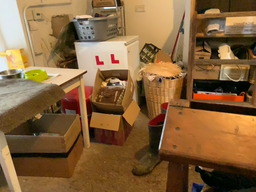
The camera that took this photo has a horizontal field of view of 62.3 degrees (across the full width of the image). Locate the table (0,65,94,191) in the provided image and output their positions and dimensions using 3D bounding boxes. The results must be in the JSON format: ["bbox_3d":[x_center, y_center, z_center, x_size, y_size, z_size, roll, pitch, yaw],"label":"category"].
[{"bbox_3d":[-0.780,0.250,1.630,0.610,0.740,1.000,2,23,14],"label":"table"}]

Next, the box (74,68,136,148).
[{"bbox_3d":[-0.190,0.090,2.110,0.380,0.610,0.510,4,24,18],"label":"box"}]

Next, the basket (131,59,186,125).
[{"bbox_3d":[0.380,-0.080,2.480,0.520,0.580,0.570,4,24,18],"label":"basket"}]
